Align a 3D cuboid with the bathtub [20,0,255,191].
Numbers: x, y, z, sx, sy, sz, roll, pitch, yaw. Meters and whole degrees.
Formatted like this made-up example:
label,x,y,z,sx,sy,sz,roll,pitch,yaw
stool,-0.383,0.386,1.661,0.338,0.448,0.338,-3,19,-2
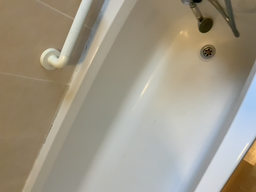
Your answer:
label,x,y,z,sx,sy,sz,roll,pitch,yaw
bathtub,0.100,0.220,0.970,0.690,0.560,1.850,32,101,29
